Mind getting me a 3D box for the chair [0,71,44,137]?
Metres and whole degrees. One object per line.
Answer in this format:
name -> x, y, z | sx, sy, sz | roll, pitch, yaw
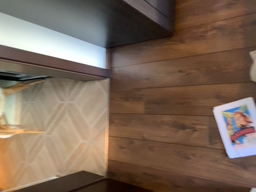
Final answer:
chair -> -1.390, 0.080, 2.200 | 0.620, 0.730, 0.610 | -1, 87, 36
